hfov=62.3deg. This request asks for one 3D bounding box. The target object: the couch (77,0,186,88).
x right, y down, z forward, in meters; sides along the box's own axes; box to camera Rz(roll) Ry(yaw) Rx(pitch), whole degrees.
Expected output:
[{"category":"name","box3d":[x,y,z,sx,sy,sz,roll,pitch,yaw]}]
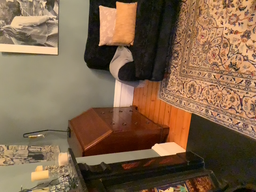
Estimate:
[{"category":"couch","box3d":[0.000,-1.170,2.450,1.060,0.840,1.980,-152,65,-62]}]

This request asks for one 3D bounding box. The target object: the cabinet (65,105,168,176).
[{"category":"cabinet","box3d":[-0.210,0.480,2.730,0.950,1.000,0.470,-151,65,-62]}]
